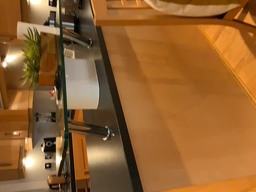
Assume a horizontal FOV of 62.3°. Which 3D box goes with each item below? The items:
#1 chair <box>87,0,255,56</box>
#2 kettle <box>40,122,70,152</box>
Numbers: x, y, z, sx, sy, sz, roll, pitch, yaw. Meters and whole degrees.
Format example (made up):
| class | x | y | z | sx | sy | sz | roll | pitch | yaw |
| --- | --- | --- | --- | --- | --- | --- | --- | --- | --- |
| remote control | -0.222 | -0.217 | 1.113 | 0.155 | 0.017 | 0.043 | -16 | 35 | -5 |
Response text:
| class | x | y | z | sx | sy | sz | roll | pitch | yaw |
| --- | --- | --- | --- | --- | --- | --- | --- | --- | --- |
| chair | 0.360 | -0.540 | 0.950 | 0.500 | 0.990 | 0.410 | 118 | 146 | -49 |
| kettle | -1.030 | 0.580 | 2.980 | 0.390 | 0.370 | 0.240 | 118 | 146 | -49 |
